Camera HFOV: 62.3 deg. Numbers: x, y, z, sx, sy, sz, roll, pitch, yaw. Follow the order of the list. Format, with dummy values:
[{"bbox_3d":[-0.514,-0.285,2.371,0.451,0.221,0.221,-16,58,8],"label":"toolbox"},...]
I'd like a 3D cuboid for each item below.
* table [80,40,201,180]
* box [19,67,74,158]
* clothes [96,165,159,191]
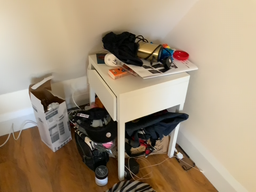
[{"bbox_3d":[0.030,0.060,1.200,0.430,0.560,0.410,-18,44,-26],"label":"table"},{"bbox_3d":[-0.470,0.090,1.240,0.200,0.390,0.310,-13,42,-22],"label":"box"},{"bbox_3d":[0.000,0.520,1.010,0.310,0.060,0.390,2,39,-5],"label":"clothes"}]
